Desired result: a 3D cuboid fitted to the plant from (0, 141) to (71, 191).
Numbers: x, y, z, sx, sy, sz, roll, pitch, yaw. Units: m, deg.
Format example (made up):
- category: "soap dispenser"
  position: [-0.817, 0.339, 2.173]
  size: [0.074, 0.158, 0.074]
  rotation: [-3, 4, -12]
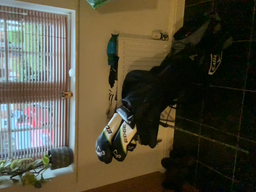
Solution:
- category: "plant"
  position: [-0.740, 0.470, 1.390]
  size: [0.180, 0.680, 0.210]
  rotation: [14, 104, 58]
